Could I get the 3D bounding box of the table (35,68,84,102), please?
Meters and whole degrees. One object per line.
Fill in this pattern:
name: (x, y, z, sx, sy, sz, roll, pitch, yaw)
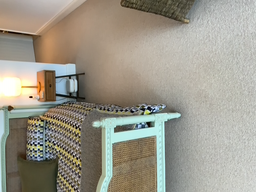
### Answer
table: (-1.020, -0.150, 3.160, 0.390, 0.600, 0.450, 1, 92, 52)
